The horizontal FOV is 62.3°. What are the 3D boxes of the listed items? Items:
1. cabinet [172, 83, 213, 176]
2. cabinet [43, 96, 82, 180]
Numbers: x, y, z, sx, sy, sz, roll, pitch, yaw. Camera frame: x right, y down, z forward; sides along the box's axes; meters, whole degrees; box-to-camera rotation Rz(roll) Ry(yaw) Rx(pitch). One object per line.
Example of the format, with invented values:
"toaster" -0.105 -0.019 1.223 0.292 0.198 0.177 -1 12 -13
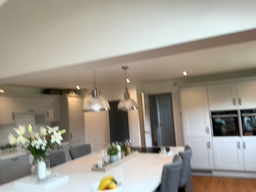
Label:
"cabinet" 1.610 0.780 5.250 0.730 2.110 0.580 -5 -4 25
"cabinet" -1.830 1.120 5.960 0.620 2.170 0.720 -5 -4 24
